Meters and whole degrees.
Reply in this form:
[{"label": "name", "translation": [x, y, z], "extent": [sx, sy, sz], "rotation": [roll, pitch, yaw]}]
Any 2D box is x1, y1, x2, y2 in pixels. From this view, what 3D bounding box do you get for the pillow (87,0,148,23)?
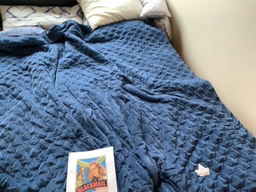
[{"label": "pillow", "translation": [-0.120, -0.860, 1.940], "extent": [0.480, 0.170, 0.440], "rotation": [-7, 46, -12]}]
